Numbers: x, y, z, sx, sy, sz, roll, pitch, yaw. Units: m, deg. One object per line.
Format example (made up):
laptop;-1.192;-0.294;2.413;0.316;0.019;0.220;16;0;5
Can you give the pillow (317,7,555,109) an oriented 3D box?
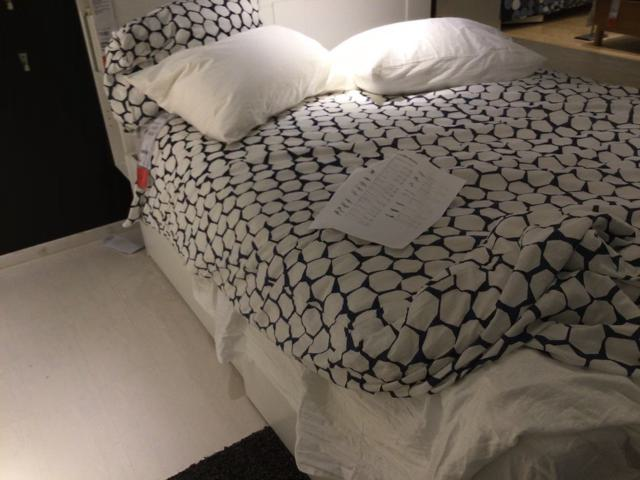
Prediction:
pillow;0.400;-0.690;2.120;0.700;0.220;0.460;-12;30;-18

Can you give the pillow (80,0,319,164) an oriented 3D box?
pillow;-0.410;-0.650;2.130;0.740;0.510;0.320;-19;32;-29

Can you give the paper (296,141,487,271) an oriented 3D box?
paper;0.160;-0.090;1.250;0.320;0.130;0.280;12;31;25

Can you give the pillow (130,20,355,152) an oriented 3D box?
pillow;-0.220;-0.540;1.910;0.410;0.260;0.620;16;33;31
